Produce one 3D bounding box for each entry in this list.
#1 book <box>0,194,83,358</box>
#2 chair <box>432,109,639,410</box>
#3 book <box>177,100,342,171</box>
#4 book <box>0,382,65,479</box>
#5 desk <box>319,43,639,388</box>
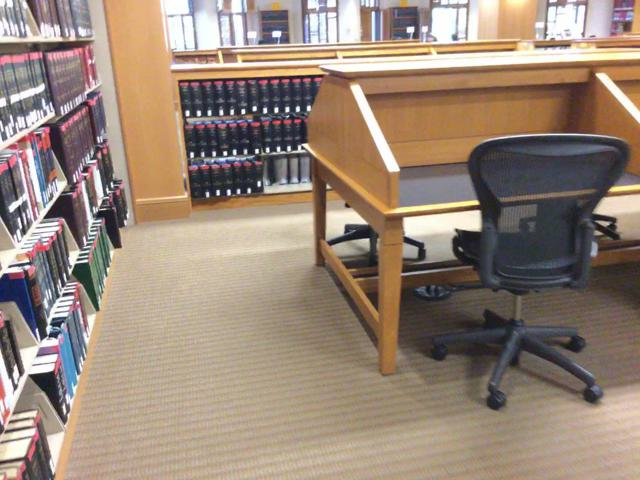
[{"bbox_3d":[-1.070,0.090,2.110,0.230,0.310,0.790,-7,20,-12],"label":"book"},{"bbox_3d":[0.800,0.040,2.290,0.640,1.000,0.650,0,20,7],"label":"chair"},{"bbox_3d":[-0.500,-0.880,4.780,1.280,0.410,0.410,-7,20,-12],"label":"book"},{"bbox_3d":[-0.770,0.630,1.450,0.110,0.260,0.560,-7,20,-12],"label":"book"},{"bbox_3d":[0.780,-0.200,2.610,1.360,1.230,0.820,-7,20,-12],"label":"desk"}]
